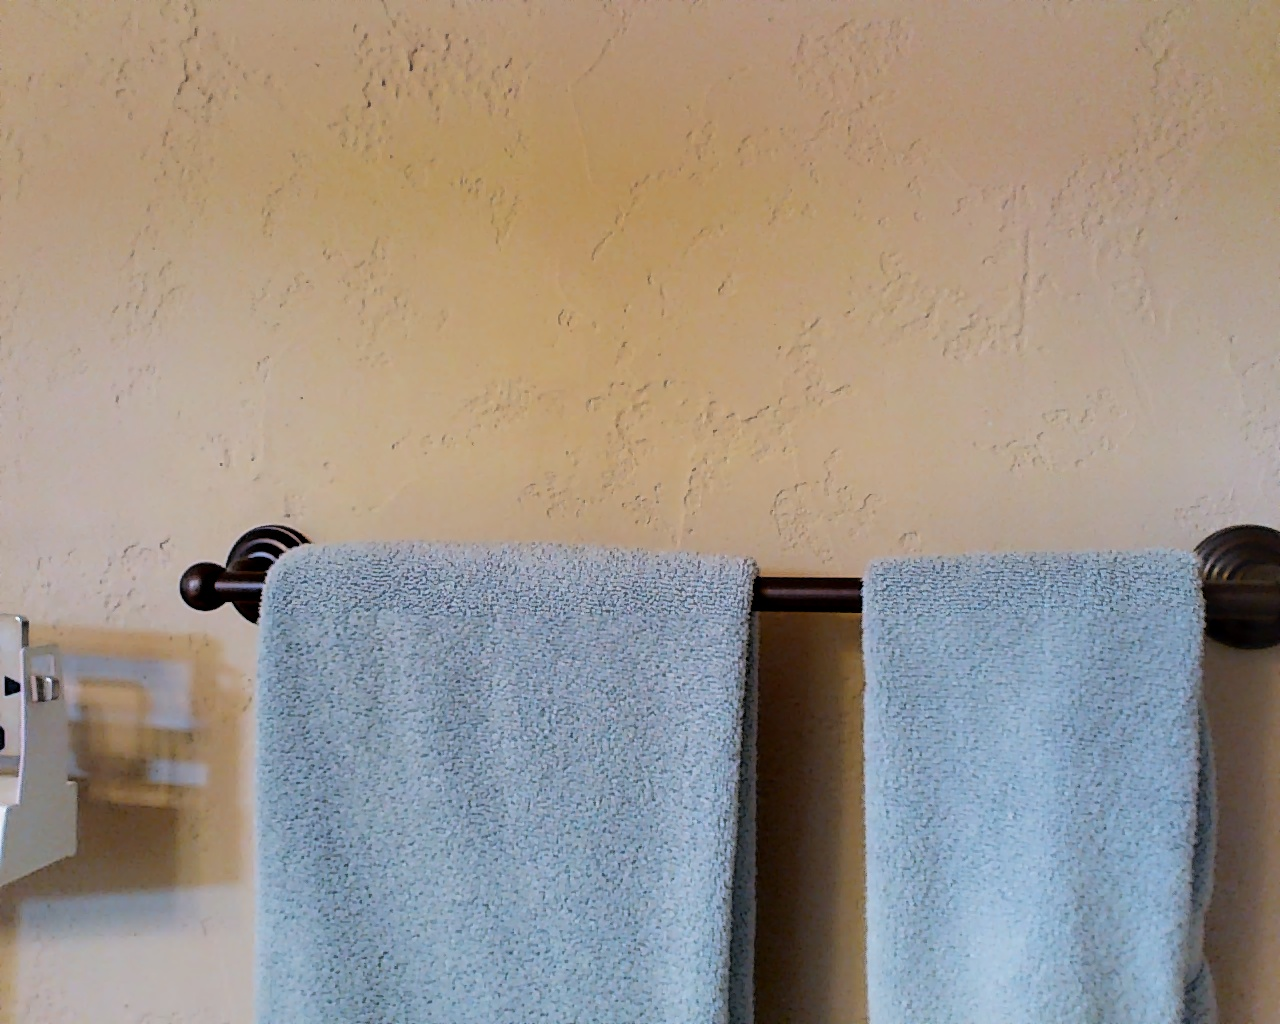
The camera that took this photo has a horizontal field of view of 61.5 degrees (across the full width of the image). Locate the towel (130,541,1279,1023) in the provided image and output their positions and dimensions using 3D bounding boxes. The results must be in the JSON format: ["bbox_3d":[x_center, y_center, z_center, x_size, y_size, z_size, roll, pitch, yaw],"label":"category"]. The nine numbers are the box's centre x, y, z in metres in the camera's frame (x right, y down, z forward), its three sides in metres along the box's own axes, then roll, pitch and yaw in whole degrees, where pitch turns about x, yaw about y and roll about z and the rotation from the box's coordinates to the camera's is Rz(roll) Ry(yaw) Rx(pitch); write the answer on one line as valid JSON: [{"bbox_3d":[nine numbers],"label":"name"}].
[{"bbox_3d":[0.050,0.450,0.600,0.660,0.860,0.150,0,-1,14],"label":"towel"}]
